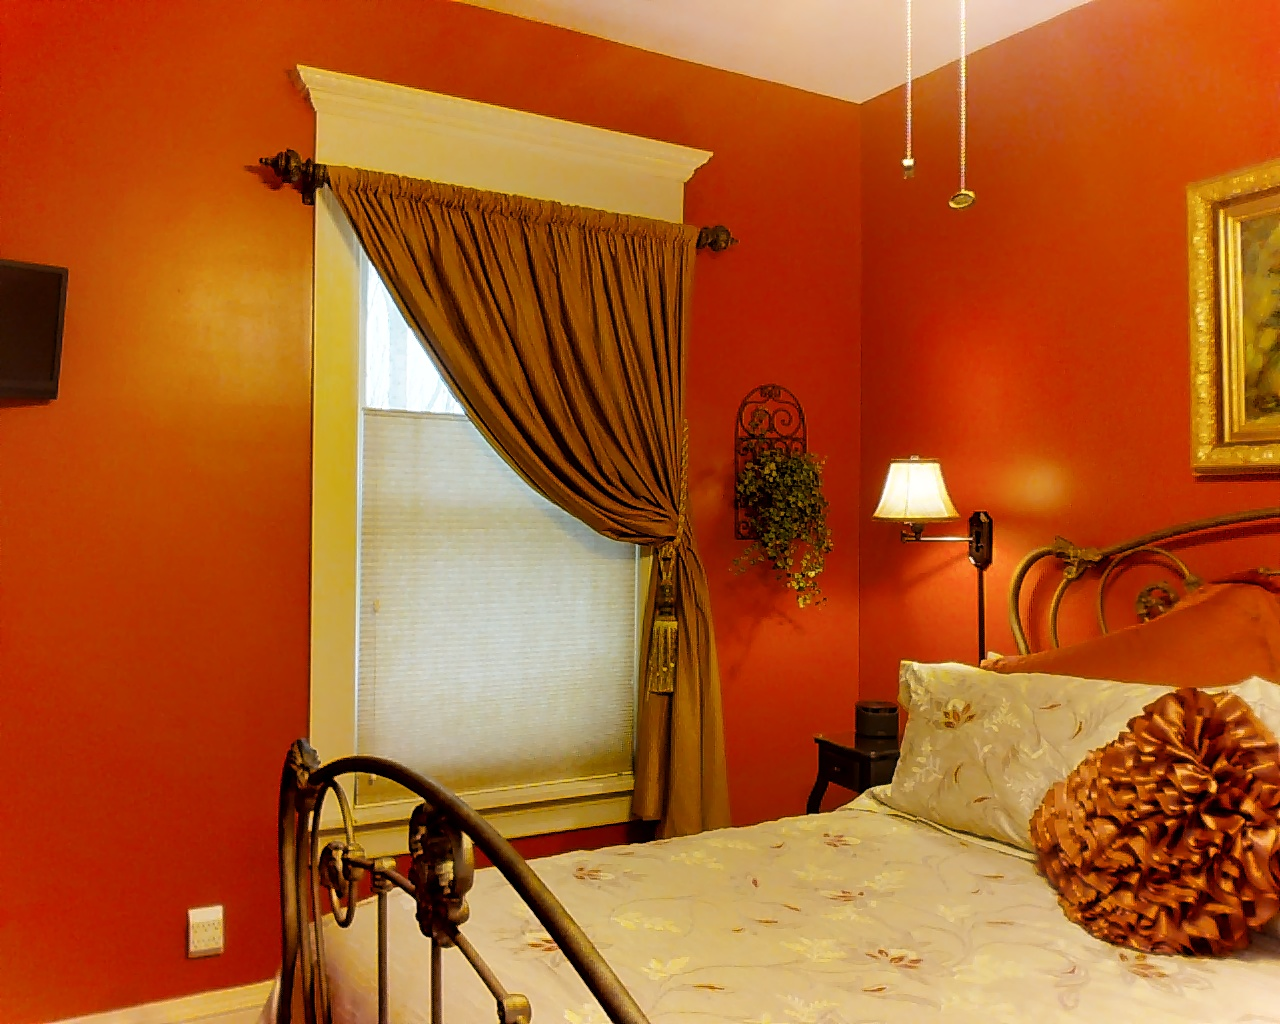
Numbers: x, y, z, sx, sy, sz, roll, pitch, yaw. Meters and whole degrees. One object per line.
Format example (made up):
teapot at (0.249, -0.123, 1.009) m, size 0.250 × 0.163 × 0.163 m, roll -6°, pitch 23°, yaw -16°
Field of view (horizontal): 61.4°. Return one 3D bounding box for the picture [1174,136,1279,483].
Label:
picture at (1.599, -0.470, 2.380) m, size 0.120 × 0.790 × 0.820 m, roll 0°, pitch 0°, yaw -30°
